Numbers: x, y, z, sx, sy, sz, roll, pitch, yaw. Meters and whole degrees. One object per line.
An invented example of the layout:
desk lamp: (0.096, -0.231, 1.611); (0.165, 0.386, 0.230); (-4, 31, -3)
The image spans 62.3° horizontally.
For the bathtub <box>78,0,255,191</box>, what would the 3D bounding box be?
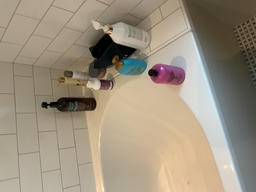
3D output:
bathtub: (0.350, 0.630, 1.080); (0.800, 0.620, 1.920); (-24, 71, 42)
